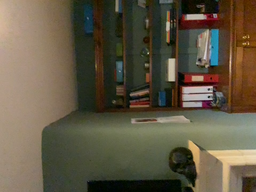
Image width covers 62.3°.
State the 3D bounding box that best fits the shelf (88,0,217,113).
[{"bbox_3d":[0.260,-0.510,2.330,0.270,1.320,1.330,-100,8,-86],"label":"shelf"}]
